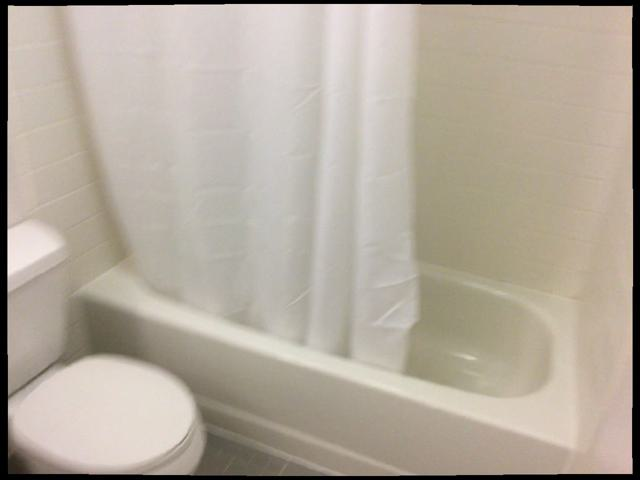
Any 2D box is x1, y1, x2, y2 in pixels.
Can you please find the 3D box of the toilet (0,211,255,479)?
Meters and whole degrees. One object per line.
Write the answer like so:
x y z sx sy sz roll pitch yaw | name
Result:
-0.619 0.421 1.460 0.709 0.691 0.540 15 30 17 | toilet

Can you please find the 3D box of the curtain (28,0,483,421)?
-0.210 -0.431 1.460 1.108 1.712 0.220 15 30 17 | curtain

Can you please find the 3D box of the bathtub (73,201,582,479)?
0.050 0.361 2.000 1.508 0.401 0.780 15 30 17 | bathtub
